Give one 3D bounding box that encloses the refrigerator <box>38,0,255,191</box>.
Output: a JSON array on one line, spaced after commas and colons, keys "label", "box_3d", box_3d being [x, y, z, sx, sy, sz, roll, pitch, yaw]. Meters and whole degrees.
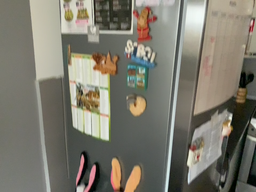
[{"label": "refrigerator", "box_3d": [0.090, 0.370, 1.030, 0.630, 1.770, 0.590, 14, 21, 33]}]
